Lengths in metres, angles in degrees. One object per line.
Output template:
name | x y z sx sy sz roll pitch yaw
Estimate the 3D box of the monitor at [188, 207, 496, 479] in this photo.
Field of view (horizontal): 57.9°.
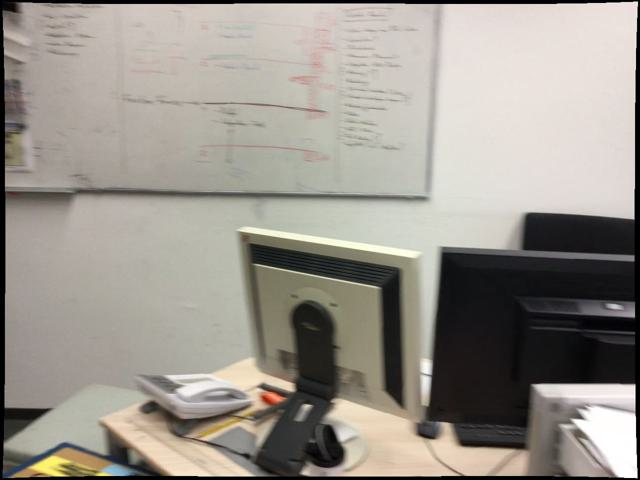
monitor | 0.020 0.220 1.260 0.620 0.480 0.220 11 18 33
